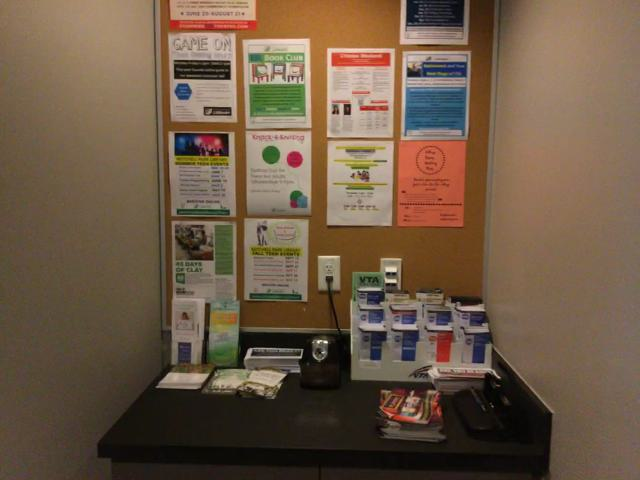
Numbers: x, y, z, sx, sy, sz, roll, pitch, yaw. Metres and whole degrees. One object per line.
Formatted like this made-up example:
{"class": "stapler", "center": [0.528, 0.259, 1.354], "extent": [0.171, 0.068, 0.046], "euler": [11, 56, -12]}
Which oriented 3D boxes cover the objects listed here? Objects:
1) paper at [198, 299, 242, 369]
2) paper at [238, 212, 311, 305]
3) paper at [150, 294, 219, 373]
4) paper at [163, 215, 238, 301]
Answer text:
{"class": "paper", "center": [-0.330, 0.310, 1.910], "extent": [0.120, 0.210, 0.070], "euler": [4, 3, 4]}
{"class": "paper", "center": [-0.150, 0.060, 1.920], "extent": [0.220, 0.290, 0.060], "euler": [4, 3, 4]}
{"class": "paper", "center": [-0.440, 0.300, 1.890], "extent": [0.180, 0.220, 0.130], "euler": [4, 3, 4]}
{"class": "paper", "center": [-0.400, 0.060, 1.930], "extent": [0.230, 0.270, 0.040], "euler": [4, 3, 4]}
